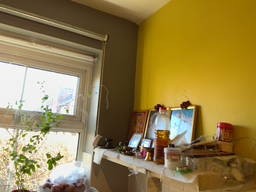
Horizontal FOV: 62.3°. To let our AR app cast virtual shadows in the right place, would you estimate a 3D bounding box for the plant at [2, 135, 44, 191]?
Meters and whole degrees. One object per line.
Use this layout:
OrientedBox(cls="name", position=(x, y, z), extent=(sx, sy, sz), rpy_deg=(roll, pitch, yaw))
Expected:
OrientedBox(cls="plant", position=(-0.570, 0.410, 1.140), extent=(0.150, 0.380, 0.160), rpy_deg=(10, -12, -30))
